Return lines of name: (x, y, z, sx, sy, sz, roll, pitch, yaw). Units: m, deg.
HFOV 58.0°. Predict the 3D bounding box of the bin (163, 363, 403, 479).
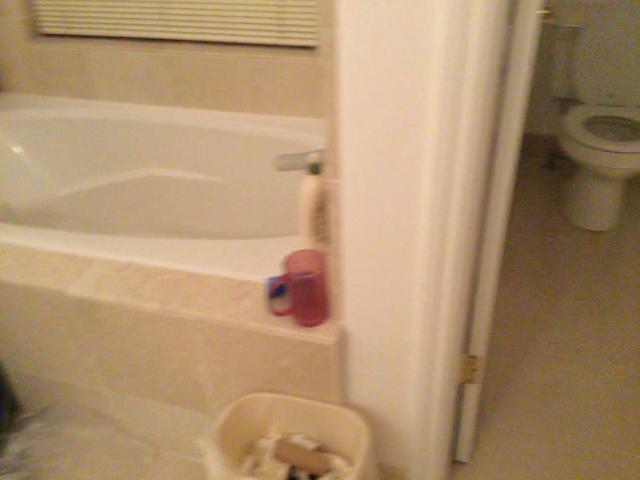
bin: (-0.050, 0.530, 1.190, 0.380, 0.360, 0.330, 6, 36, 16)
